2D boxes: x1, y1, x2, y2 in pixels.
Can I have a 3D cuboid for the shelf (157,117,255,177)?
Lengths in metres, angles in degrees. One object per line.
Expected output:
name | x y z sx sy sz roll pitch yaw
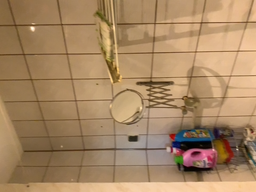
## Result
shelf | 0.530 0.350 1.410 0.300 0.610 0.340 94 176 -68

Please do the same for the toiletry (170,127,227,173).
toiletry | 0.450 0.360 1.410 0.180 0.280 0.250 92 177 -61
